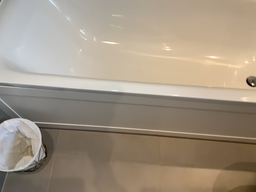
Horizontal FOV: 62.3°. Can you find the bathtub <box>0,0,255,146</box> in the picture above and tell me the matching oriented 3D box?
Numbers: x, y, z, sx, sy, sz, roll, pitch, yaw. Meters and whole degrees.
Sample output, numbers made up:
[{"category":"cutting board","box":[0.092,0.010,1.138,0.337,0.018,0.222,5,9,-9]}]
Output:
[{"category":"bathtub","box":[0.220,-0.180,1.180,1.660,0.590,0.690,4,62,-1]}]
